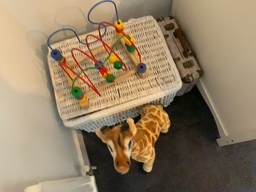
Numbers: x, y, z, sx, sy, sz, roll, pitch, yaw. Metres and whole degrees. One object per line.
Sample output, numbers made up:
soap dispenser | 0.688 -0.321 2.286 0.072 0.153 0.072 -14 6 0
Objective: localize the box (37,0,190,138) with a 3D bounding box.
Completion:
box | -0.070 -0.120 1.120 0.550 0.430 0.470 -18 72 -2
